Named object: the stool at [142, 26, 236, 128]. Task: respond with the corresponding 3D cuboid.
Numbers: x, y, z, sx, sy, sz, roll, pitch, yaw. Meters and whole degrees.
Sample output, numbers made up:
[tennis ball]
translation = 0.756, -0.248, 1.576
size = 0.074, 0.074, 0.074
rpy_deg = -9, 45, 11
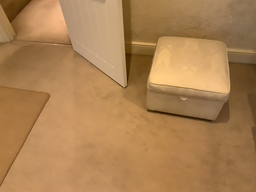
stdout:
[stool]
translation = 0.440, -0.160, 1.650
size = 0.560, 0.430, 0.580
rpy_deg = 9, 52, 9
